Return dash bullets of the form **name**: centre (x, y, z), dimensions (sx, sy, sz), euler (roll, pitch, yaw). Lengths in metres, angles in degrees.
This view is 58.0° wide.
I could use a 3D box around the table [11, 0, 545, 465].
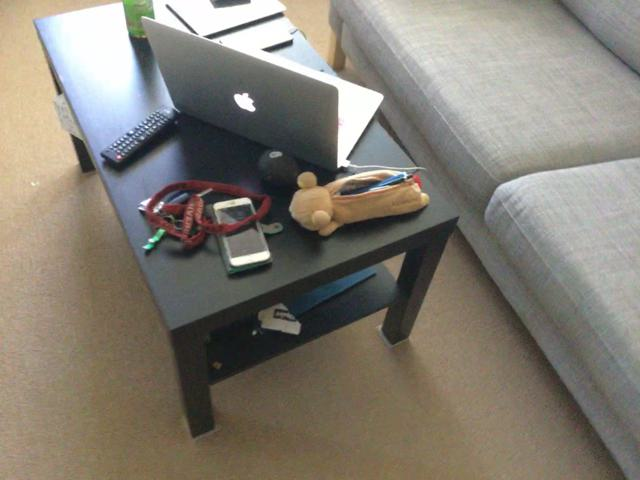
- **table**: centre (-0.160, -0.160, 1.320), dimensions (0.650, 0.550, 0.950), euler (-24, 59, -23)
